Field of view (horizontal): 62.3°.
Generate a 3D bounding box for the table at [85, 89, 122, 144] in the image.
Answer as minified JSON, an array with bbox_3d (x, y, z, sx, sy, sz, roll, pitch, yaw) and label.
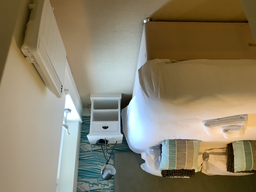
[{"bbox_3d":[-0.330,0.300,2.980,0.450,0.620,0.550,0,156,-4],"label":"table"}]
